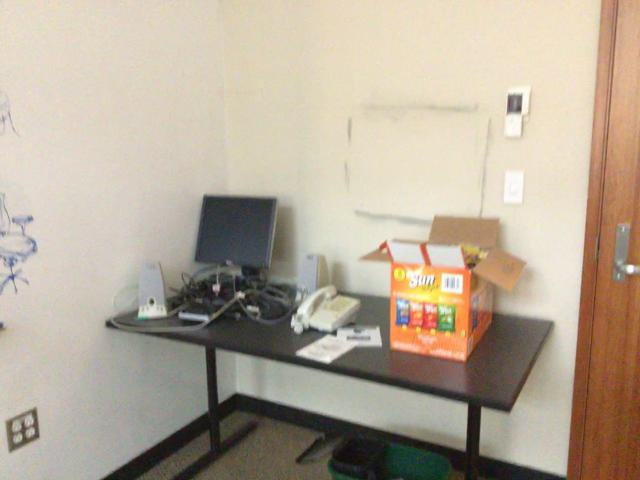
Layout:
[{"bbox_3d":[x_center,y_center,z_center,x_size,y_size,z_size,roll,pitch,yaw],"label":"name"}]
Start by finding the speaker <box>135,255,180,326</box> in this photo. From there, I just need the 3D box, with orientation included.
[{"bbox_3d":[-0.640,0.190,2.260,0.150,0.220,0.240,-3,8,-18],"label":"speaker"}]

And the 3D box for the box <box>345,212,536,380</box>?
[{"bbox_3d":[0.440,0.140,1.990,0.480,0.400,0.640,4,9,27],"label":"box"}]

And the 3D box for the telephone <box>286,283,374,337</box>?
[{"bbox_3d":[0.040,0.250,2.130,0.240,0.120,0.240,4,9,27],"label":"telephone"}]
